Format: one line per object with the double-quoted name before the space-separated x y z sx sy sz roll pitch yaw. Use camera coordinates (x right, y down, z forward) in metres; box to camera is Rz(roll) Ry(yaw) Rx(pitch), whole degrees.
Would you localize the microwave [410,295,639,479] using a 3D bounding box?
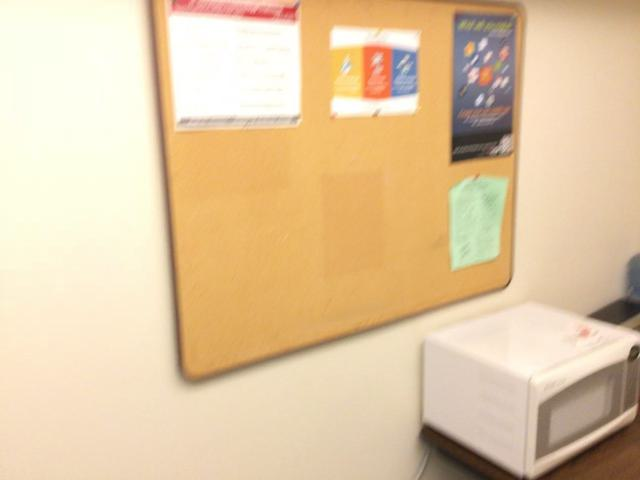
"microwave" 0.640 0.430 1.770 0.570 0.330 0.440 -9 14 -32
